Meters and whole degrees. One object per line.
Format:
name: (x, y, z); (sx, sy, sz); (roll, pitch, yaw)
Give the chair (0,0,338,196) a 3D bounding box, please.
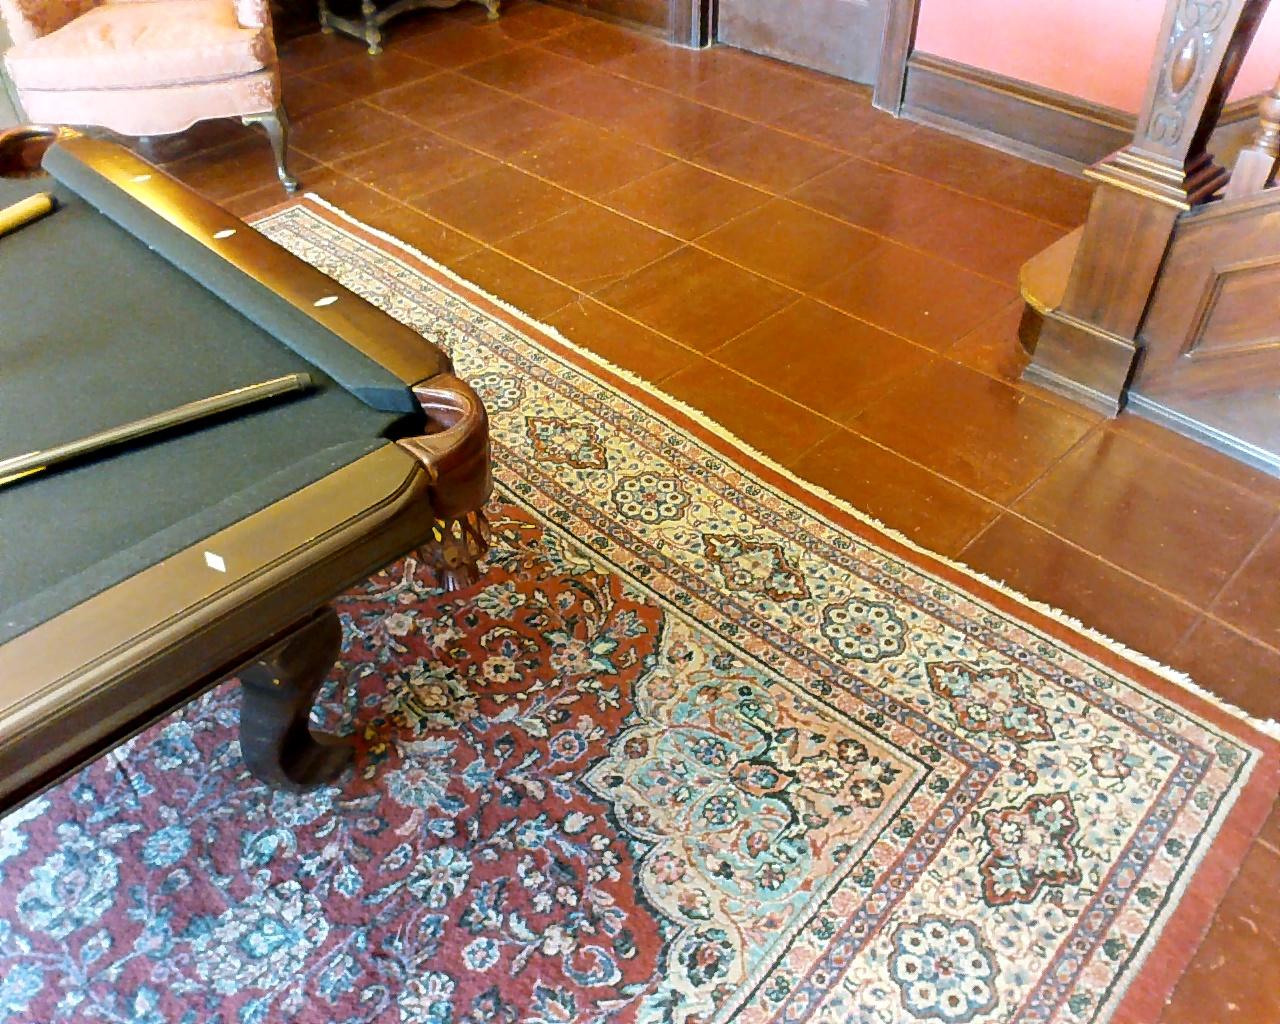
chair: (-1.560, -1.750, 3.490); (0.830, 1.120, 0.810); (-3, 42, -3)
